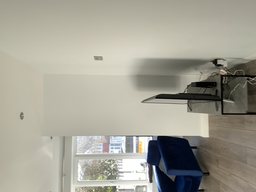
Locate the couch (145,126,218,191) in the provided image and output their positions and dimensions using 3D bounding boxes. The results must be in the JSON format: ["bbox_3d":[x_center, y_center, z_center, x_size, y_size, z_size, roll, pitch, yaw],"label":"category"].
[{"bbox_3d":[0.800,1.160,3.610,1.000,0.840,0.850,-97,9,-59],"label":"couch"}]
